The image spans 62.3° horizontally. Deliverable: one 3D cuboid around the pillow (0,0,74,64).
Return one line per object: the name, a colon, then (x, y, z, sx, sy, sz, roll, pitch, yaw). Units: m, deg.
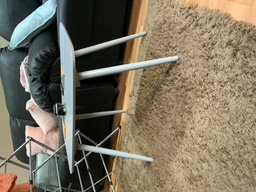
pillow: (-0.670, -0.520, 1.530, 0.440, 0.210, 0.310, -44, 55, 5)

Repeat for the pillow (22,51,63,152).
pillow: (-0.740, 0.030, 1.830, 0.530, 0.260, 0.660, -125, 38, -49)

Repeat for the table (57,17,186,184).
table: (-0.110, 0.010, 1.150, 0.440, 0.470, 0.710, -126, 39, -50)

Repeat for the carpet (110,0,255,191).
carpet: (0.170, 0.310, 1.140, 1.040, 0.040, 1.510, -128, 40, -51)
